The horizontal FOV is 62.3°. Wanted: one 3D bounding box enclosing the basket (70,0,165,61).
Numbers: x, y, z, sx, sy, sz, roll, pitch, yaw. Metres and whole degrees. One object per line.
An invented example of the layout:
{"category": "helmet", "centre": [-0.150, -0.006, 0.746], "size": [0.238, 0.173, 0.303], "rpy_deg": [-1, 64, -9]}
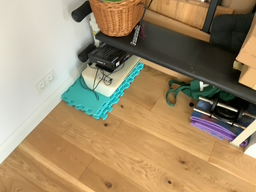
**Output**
{"category": "basket", "centre": [-0.040, -0.580, 1.260], "size": [0.370, 0.470, 0.460], "rpy_deg": [23, 57, 20]}
